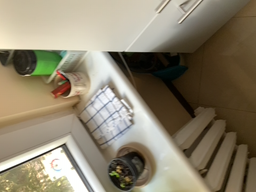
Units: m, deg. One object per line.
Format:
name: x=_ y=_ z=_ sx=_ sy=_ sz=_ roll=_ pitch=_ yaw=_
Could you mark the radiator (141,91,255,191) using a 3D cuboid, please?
radiator: x=0.400 y=0.270 z=0.920 sx=0.160 sy=0.630 sz=0.500 roll=-40 pitch=77 yaw=31
